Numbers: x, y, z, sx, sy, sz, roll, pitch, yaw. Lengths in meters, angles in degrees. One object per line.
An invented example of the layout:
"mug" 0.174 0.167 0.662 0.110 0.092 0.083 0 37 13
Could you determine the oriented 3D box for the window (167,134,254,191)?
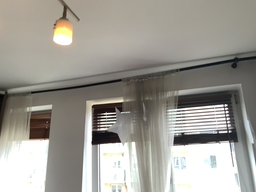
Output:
"window" 0.700 0.900 1.780 0.650 1.100 0.140 -7 -18 18
